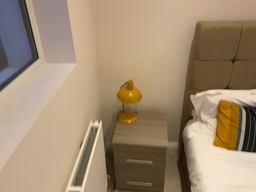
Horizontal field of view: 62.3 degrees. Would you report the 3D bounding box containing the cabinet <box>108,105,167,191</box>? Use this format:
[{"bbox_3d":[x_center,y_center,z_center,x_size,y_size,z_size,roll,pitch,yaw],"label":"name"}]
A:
[{"bbox_3d":[0.100,0.430,1.770,0.400,0.500,0.480,3,31,7],"label":"cabinet"}]
